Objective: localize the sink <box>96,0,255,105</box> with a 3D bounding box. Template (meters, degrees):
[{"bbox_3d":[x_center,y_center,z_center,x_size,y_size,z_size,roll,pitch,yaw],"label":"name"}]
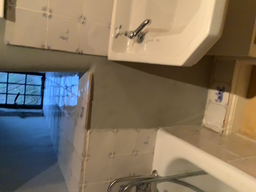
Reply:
[{"bbox_3d":[0.180,-0.380,0.770,0.470,0.350,0.710,26,109,58],"label":"sink"}]
